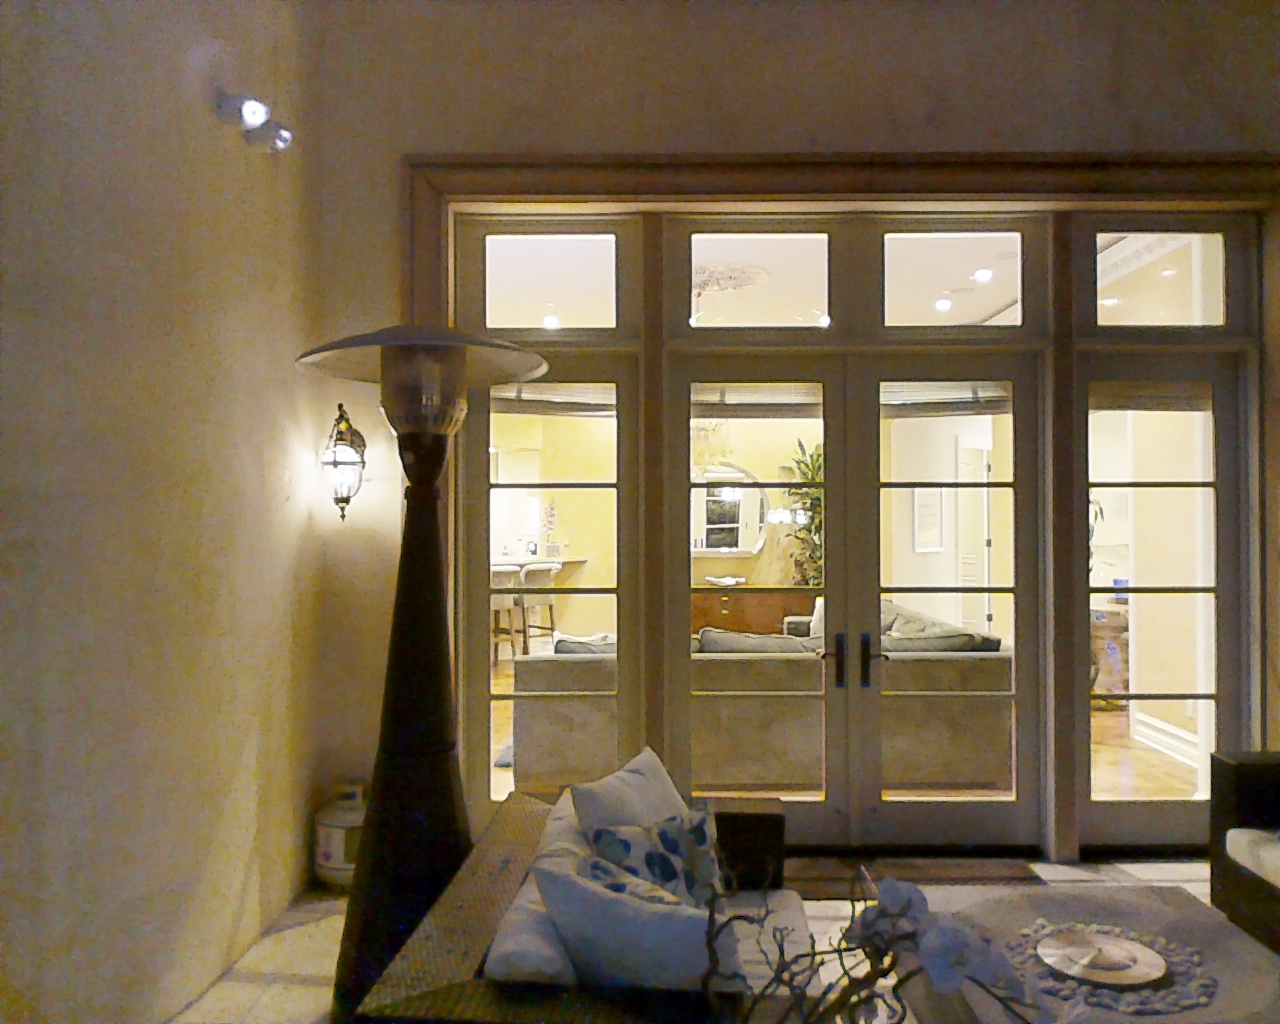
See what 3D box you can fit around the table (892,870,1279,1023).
[{"bbox_3d":[1.420,1.460,2.960,1.080,0.370,1.700,0,0,1],"label":"table"}]
